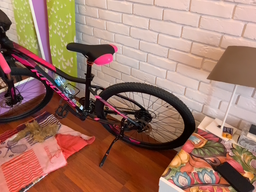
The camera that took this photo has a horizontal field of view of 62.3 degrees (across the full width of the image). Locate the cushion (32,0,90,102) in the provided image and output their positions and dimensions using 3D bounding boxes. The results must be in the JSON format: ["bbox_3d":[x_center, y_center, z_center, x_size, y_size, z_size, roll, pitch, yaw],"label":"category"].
[{"bbox_3d":[-0.570,-0.510,1.830,0.360,1.110,0.190,25,42,30],"label":"cushion"}]

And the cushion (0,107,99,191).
[{"bbox_3d":[-0.720,0.410,1.610,0.600,0.040,0.800,27,43,32],"label":"cushion"}]

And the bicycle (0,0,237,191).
[{"bbox_3d":[-0.360,-0.040,1.350,1.460,0.970,0.900,27,43,32],"label":"bicycle"}]

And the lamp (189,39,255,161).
[{"bbox_3d":[0.500,0.020,1.030,0.230,0.490,0.240,25,42,31],"label":"lamp"}]
